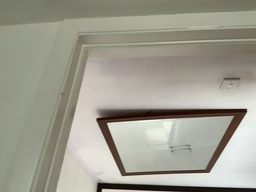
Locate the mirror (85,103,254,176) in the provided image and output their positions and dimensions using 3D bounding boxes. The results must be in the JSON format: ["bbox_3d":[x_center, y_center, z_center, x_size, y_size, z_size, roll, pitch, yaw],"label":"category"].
[{"bbox_3d":[0.320,0.500,2.000,1.440,1.100,0.060,81,-169,-53],"label":"mirror"}]
